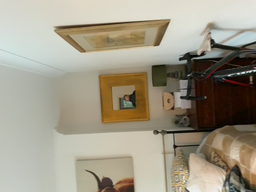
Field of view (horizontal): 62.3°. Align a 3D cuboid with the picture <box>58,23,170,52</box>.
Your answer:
[{"bbox_3d":[-0.070,-0.370,1.410,0.490,0.620,0.030,-38,-55,-87],"label":"picture"}]
